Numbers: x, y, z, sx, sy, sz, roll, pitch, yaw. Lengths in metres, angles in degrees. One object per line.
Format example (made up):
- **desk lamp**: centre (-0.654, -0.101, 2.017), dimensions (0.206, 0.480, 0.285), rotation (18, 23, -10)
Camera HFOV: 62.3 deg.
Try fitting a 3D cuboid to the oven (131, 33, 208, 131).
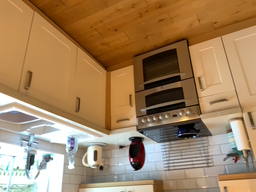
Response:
- **oven**: centre (0.450, -0.110, 2.320), dimensions (0.590, 0.770, 0.600), rotation (-14, 153, 23)
